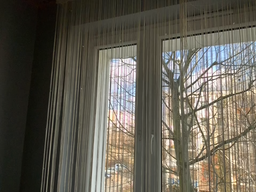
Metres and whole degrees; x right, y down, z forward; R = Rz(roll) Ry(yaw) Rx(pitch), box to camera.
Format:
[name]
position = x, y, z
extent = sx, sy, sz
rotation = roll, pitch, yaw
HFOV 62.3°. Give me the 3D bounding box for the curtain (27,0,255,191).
[curtain]
position = 0.160, 0.060, 1.140
extent = 1.620, 1.870, 0.140
rotation = -2, -10, 24
